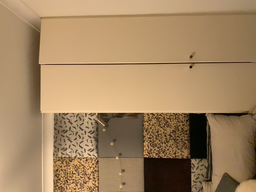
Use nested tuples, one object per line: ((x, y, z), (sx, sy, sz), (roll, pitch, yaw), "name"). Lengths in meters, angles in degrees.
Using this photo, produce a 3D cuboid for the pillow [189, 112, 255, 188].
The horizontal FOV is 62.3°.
((0.880, 0.460, 1.890), (0.480, 0.410, 0.190), (-46, -7, 2), "pillow")
